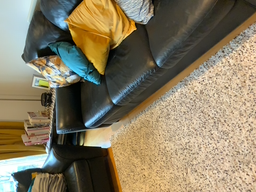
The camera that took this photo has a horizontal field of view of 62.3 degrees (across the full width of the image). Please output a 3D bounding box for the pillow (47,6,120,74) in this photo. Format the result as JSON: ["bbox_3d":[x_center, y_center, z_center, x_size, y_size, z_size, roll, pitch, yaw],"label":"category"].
[{"bbox_3d":[-0.340,-0.420,1.690,0.390,0.390,0.200,-27,66,11],"label":"pillow"}]

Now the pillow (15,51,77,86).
[{"bbox_3d":[-0.800,-0.250,2.080,0.460,0.350,0.180,-5,77,34],"label":"pillow"}]

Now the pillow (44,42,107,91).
[{"bbox_3d":[-0.450,-0.250,1.870,0.300,0.410,0.210,25,87,29],"label":"pillow"}]

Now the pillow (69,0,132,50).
[{"bbox_3d":[-0.180,-0.560,1.500,0.290,0.410,0.190,-18,68,10],"label":"pillow"}]
